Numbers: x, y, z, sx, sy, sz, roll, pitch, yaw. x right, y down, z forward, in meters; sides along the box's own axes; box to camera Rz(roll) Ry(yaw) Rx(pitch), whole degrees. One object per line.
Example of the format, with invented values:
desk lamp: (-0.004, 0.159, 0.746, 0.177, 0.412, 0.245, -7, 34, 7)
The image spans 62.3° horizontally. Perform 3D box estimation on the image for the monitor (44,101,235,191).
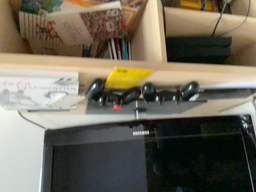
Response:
monitor: (0.020, 0.310, 0.770, 0.670, 0.550, 0.040, -4, 163, 8)
